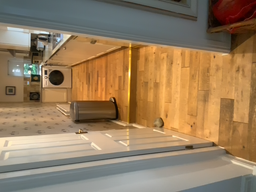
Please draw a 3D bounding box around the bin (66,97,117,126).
[{"bbox_3d":[-0.570,0.220,3.300,0.360,0.700,0.390,4,93,63],"label":"bin"}]
